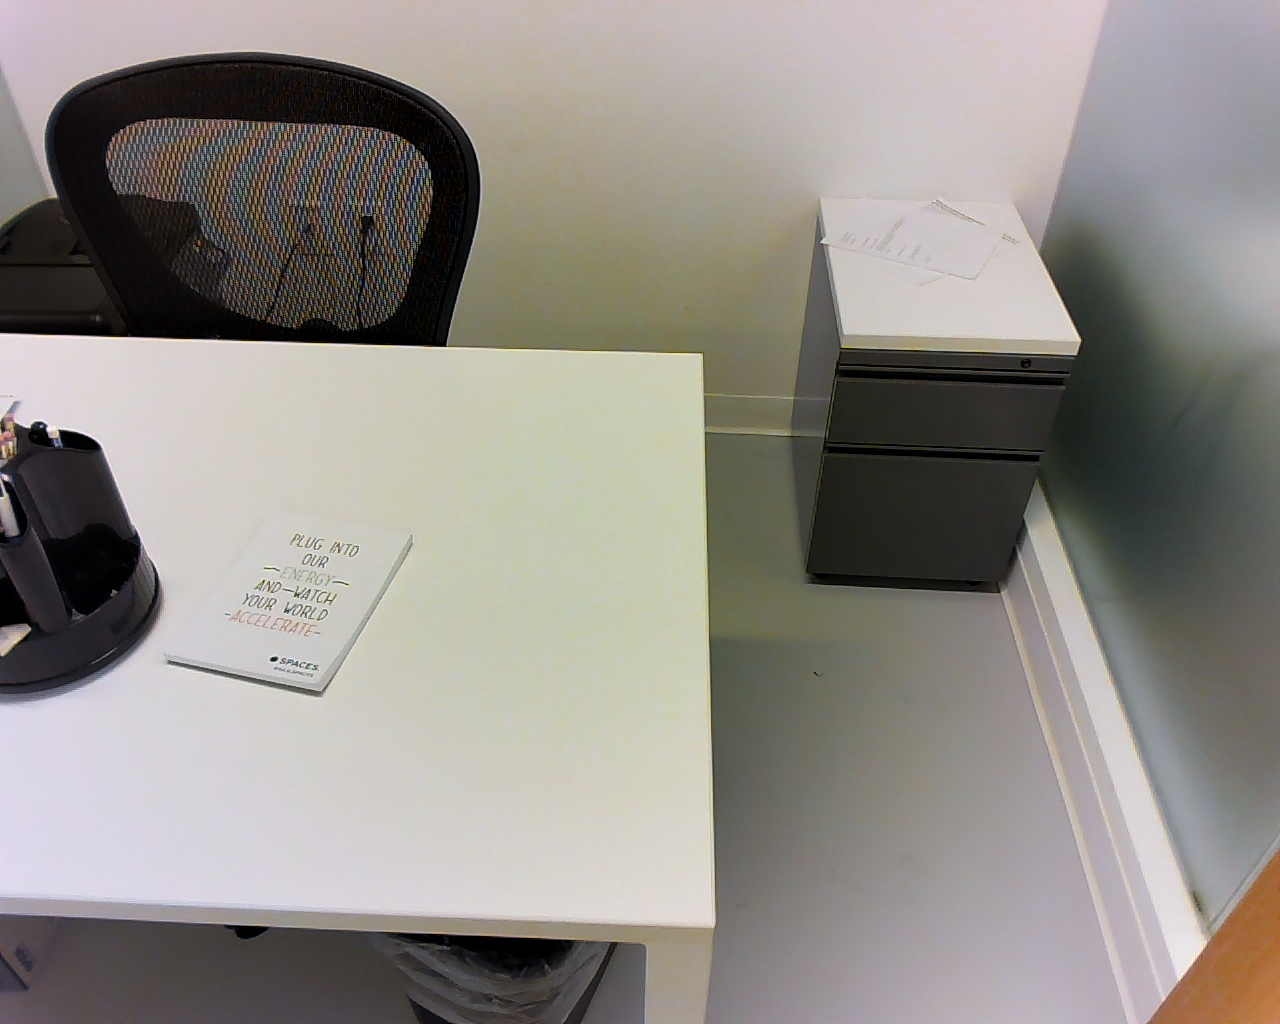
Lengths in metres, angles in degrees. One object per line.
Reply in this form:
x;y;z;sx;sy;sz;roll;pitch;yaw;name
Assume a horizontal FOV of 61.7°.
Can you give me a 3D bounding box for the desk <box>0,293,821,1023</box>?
-0.490;0.290;1.320;1.260;0.770;0.830;1;42;2;desk
